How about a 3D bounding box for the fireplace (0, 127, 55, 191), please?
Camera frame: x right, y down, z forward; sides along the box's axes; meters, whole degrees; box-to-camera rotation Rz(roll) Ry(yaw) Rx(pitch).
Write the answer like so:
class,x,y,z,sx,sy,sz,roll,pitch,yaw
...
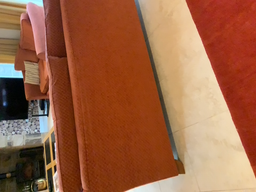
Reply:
class,x,y,z,sx,sy,sz,roll,pitch,yaw
fireplace,-2.970,1.890,5.540,0.880,1.700,1.830,-39,58,51
